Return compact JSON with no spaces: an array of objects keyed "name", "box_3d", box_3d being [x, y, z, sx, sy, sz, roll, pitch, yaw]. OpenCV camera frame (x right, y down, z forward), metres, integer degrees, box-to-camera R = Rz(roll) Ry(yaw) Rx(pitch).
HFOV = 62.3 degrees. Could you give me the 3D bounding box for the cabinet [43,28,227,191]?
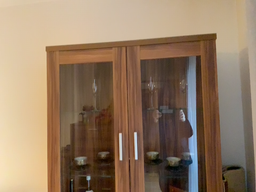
[{"name":"cabinet","box_3d":[0.050,0.670,1.410,1.020,2.020,0.500,-2,-3,9]}]
